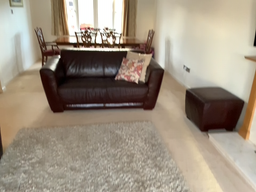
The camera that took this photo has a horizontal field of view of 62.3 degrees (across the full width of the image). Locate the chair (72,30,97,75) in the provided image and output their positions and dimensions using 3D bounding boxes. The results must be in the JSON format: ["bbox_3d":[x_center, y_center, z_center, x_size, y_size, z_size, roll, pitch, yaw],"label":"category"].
[{"bbox_3d":[-1.010,-1.040,5.050,0.480,0.970,0.590,0,21,-5],"label":"chair"}]

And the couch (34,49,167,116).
[{"bbox_3d":[-0.390,-0.260,3.310,1.730,0.800,0.860,-1,21,-7],"label":"couch"}]

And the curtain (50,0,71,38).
[{"bbox_3d":[-1.920,-2.400,6.000,0.480,1.430,0.160,0,21,-3],"label":"curtain"}]
